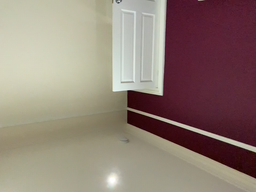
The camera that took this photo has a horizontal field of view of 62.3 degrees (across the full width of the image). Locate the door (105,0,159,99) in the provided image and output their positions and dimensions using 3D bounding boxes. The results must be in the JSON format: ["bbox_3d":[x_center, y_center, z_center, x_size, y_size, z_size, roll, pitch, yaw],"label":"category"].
[{"bbox_3d":[0.070,-1.020,2.870,0.790,2.050,0.120,-6,-168,-32],"label":"door"}]
